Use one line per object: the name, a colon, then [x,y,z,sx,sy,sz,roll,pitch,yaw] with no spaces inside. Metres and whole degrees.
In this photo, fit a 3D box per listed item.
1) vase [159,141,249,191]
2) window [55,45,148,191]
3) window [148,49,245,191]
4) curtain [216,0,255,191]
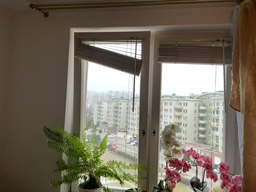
vase: [0.560,0.700,1.710,0.580,0.540,0.530,2,-3,11]
window: [-0.200,0.320,1.960,0.690,1.460,0.510,2,-3,8]
window: [0.540,0.360,1.760,0.690,1.450,0.260,2,-3,9]
curtain: [0.990,0.040,1.440,0.630,1.660,0.340,2,-3,9]
